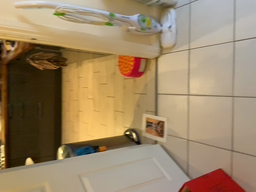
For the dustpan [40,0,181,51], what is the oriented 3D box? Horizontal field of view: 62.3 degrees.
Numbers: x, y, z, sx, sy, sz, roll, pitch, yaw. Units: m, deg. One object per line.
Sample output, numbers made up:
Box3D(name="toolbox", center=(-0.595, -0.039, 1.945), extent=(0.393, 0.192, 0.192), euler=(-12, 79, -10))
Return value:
Box3D(name="dustpan", center=(-0.050, -0.490, 1.400), extent=(0.190, 0.960, 0.240), euler=(2, 92, 54))
